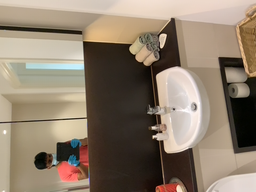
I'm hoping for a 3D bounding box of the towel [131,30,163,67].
[{"bbox_3d":[0.130,-0.330,1.490,0.150,0.160,0.200,141,125,-67],"label":"towel"}]
